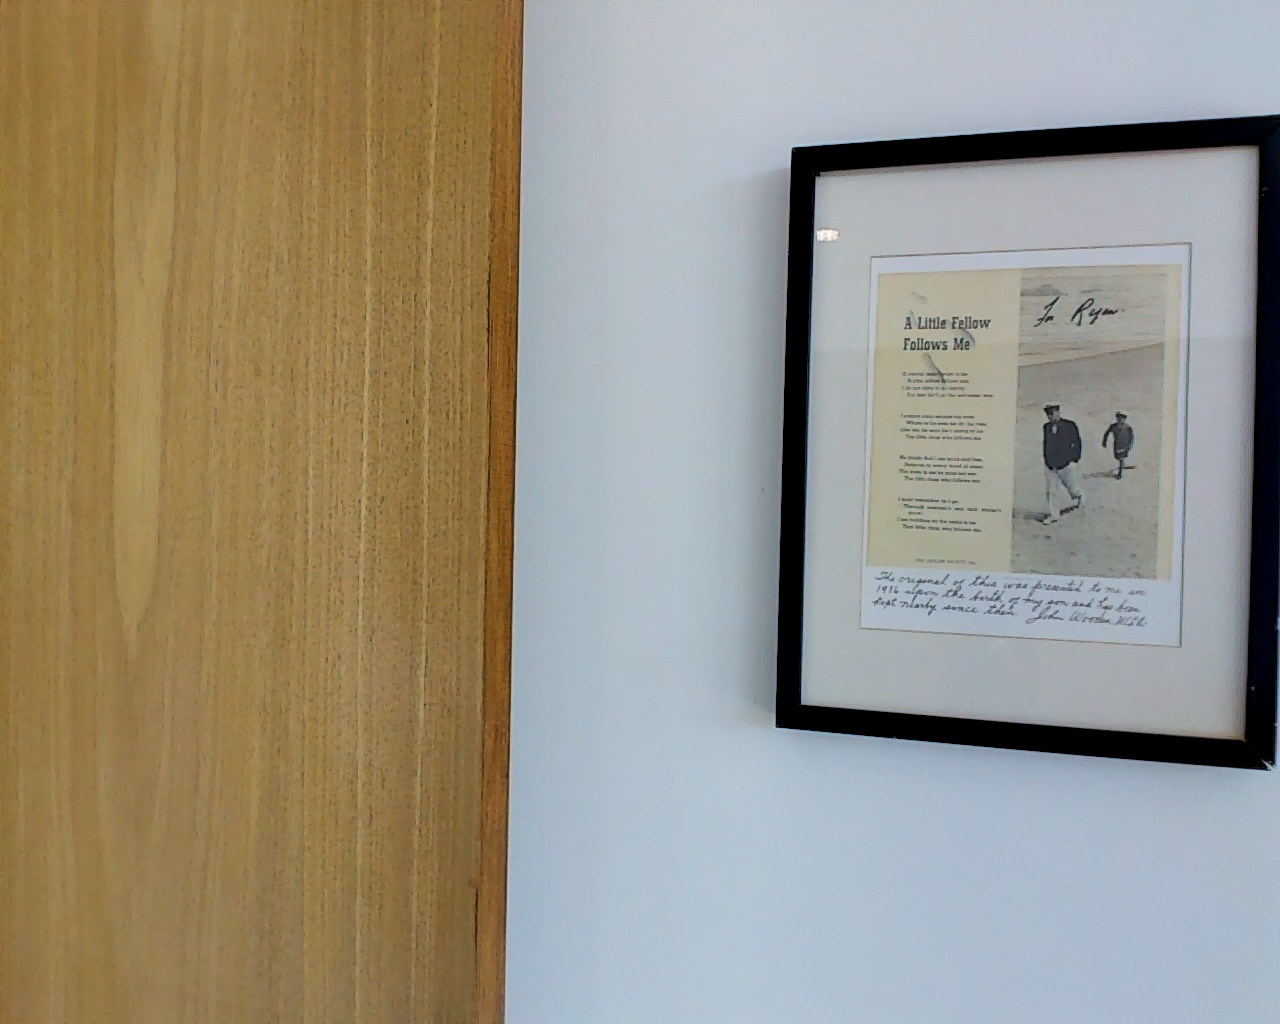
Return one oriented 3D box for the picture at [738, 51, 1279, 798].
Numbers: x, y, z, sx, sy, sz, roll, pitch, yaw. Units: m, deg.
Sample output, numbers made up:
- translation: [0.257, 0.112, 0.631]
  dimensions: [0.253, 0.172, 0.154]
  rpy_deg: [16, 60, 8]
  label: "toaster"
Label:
- translation: [0.260, -0.060, 0.760]
  dimensions: [0.370, 0.480, 0.040]
  rpy_deg: [1, 0, 18]
  label: "picture"
